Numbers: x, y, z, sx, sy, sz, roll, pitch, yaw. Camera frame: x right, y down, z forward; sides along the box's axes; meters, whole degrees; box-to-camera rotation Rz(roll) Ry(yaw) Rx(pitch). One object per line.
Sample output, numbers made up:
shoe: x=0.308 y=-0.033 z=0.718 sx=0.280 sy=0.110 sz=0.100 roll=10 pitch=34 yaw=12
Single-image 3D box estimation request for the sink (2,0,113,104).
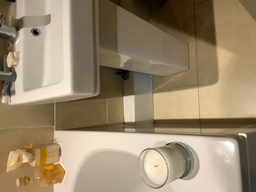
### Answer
sink: x=-0.250 y=-0.250 z=0.690 sx=0.420 sy=0.150 sz=0.530 roll=-6 pitch=83 yaw=43
